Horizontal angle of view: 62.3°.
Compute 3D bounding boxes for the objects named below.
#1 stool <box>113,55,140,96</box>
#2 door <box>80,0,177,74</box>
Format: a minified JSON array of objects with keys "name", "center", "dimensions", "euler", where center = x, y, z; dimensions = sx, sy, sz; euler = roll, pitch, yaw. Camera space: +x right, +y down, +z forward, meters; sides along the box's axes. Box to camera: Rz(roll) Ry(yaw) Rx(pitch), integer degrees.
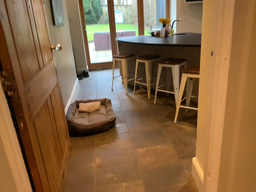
[{"name":"stool","center":[-0.020,-0.370,3.780],"dimensions":[0.310,0.640,0.330],"euler":[14,26,39]},{"name":"door","center":[0.060,-1.780,5.570],"dimensions":[2.410,2.210,0.220],"euler":[-5,20,-5]}]
